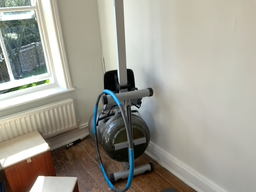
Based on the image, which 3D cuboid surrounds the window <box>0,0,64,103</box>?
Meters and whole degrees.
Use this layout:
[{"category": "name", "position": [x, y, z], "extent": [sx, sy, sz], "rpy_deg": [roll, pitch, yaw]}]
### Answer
[{"category": "window", "position": [-1.380, -0.740, 2.330], "extent": [0.980, 1.510, 0.430], "rpy_deg": [-18, 29, -30]}]
